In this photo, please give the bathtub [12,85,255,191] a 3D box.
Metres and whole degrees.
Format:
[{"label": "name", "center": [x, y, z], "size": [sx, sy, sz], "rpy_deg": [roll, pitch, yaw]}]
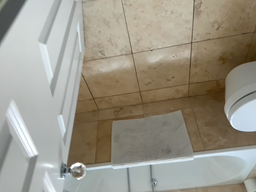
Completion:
[{"label": "bathtub", "center": [0.180, 0.510, 2.010], "size": [2.120, 0.560, 0.740], "rpy_deg": [-9, 139, 6]}]
